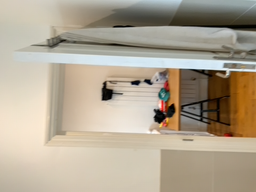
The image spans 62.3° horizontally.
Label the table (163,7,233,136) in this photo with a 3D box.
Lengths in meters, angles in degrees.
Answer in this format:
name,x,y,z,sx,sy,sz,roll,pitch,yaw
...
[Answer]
name,x,y,z,sx,sy,sz,roll,pitch,yaw
table,1.010,-0.320,3.240,0.820,0.740,1.700,134,138,-87
